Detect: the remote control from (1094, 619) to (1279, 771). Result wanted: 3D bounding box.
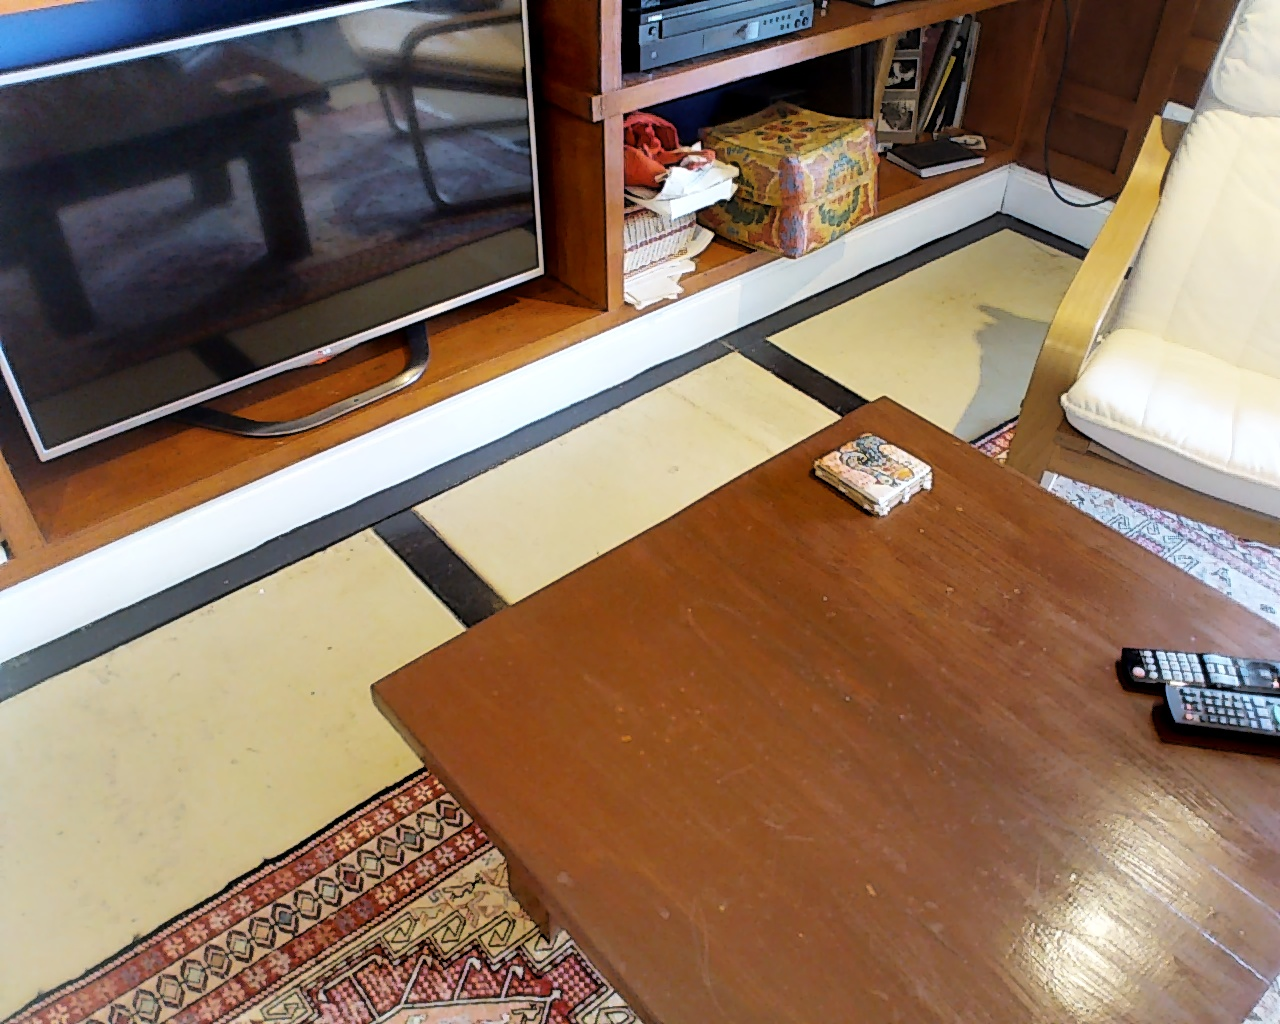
[{"bbox_3d":[0.630,0.190,1.100,0.280,0.030,0.160,5,40,4],"label":"remote control"}]
